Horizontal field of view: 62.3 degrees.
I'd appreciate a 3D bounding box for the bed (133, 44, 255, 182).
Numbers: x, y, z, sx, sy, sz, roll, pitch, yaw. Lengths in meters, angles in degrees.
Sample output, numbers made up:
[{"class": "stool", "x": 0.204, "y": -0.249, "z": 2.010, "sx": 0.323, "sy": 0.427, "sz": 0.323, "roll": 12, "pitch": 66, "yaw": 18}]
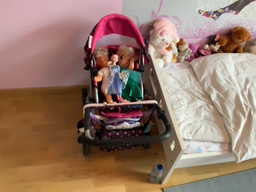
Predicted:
[{"class": "bed", "x": 0.950, "y": 0.040, "z": 1.550, "sx": 1.680, "sy": 0.410, "sz": 0.800, "roll": -4, "pitch": 51, "yaw": -10}]
